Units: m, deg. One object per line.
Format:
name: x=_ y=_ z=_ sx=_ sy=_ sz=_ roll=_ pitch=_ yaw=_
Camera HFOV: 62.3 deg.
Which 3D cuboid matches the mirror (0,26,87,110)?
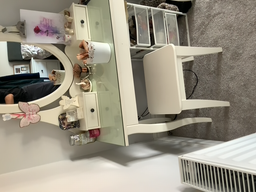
mirror: x=-0.690 y=-0.170 z=1.280 sx=0.100 sy=0.820 sz=0.480 roll=-21 pitch=76 yaw=57
